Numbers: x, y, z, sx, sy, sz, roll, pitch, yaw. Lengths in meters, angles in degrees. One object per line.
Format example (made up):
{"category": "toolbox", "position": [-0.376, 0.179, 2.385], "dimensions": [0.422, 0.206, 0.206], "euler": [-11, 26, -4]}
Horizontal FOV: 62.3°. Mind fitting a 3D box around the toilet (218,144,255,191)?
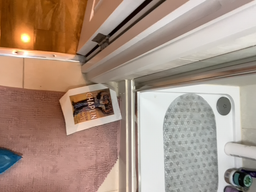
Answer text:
{"category": "toilet", "position": [0.670, 0.530, 1.200], "dimensions": [0.170, 0.240, 0.460], "euler": [3, 86, -25]}
